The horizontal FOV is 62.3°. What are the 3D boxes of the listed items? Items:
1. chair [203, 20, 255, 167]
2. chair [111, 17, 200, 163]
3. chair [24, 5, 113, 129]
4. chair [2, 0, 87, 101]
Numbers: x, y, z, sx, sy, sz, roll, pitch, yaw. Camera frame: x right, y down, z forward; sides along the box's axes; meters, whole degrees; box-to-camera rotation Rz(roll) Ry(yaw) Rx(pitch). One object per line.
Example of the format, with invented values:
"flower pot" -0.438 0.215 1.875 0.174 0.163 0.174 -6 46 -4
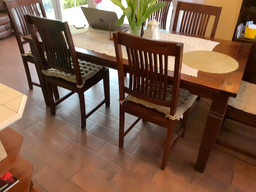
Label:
"chair" 1.090 -0.010 1.680 0.580 0.960 0.560 26 41 32
"chair" 0.200 -0.050 1.700 0.460 0.960 0.520 16 36 20
"chair" -0.490 -0.280 2.010 0.460 0.960 0.520 18 37 23
"chair" -0.880 -0.540 2.400 0.550 0.950 0.510 23 39 28
